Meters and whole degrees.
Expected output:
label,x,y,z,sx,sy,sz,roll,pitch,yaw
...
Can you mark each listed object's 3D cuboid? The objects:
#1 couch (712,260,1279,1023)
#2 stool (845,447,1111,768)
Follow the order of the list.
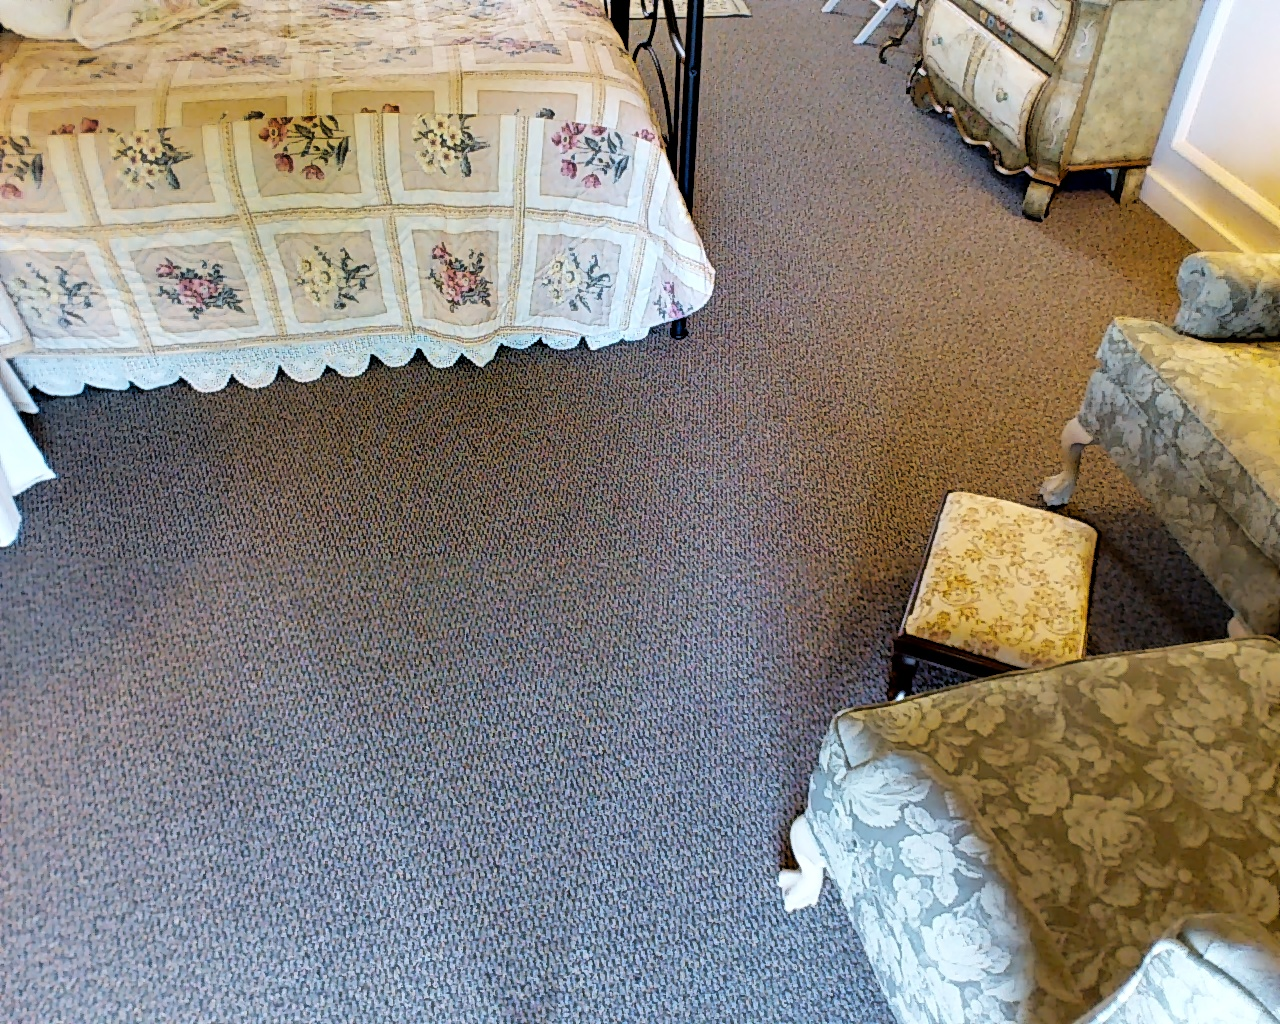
label,x,y,z,sx,sy,sz,roll,pitch,yaw
couch,0.650,0.430,1.150,0.850,1.010,0.950,-7,43,-10
stool,0.650,0.160,2.050,0.370,0.230,0.510,16,44,15
